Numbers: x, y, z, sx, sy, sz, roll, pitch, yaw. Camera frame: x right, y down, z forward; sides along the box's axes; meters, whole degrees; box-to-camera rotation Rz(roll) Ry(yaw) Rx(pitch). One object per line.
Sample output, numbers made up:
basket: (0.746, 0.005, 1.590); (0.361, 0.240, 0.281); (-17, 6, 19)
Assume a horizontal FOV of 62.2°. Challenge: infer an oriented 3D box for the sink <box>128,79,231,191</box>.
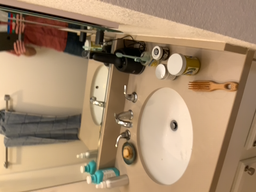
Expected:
sink: (0.200, 0.170, 0.960); (0.340, 0.190, 0.420); (28, 112, 55)
